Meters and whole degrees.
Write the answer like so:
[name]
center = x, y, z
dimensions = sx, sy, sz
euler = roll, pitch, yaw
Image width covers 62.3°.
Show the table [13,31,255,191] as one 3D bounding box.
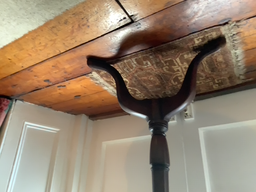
[table]
center = 0.120, 0.260, 0.940
dimensions = 1.160, 0.600, 0.490
euler = -14, 148, 26
